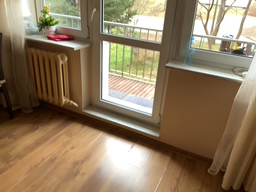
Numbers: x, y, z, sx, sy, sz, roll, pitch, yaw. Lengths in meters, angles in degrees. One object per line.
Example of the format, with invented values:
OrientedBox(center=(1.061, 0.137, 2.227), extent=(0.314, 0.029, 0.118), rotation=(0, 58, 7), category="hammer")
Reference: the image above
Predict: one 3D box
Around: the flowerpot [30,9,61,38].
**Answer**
OrientedBox(center=(-0.900, -0.800, 2.340), extent=(0.240, 0.260, 0.170), rotation=(9, 27, 9), category="flowerpot")

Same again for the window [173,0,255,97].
OrientedBox(center=(0.810, -0.830, 1.520), extent=(0.660, 1.580, 0.240), rotation=(17, 29, 24), category="window")
